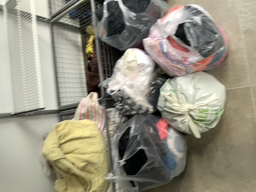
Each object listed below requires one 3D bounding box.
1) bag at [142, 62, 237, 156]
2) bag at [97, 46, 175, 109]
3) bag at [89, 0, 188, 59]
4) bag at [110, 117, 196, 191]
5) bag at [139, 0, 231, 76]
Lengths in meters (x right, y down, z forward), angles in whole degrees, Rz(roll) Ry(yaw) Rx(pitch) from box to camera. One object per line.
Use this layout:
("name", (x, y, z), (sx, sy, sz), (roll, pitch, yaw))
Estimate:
("bag", (0.300, 0.040, 1.060), (0.340, 0.240, 0.360), (13, 98, 37))
("bag", (0.050, -0.100, 1.190), (0.240, 0.330, 0.270), (19, 102, 36))
("bag", (0.060, -0.410, 1.150), (0.330, 0.350, 0.290), (27, 106, 34))
("bag", (0.140, 0.340, 1.150), (0.280, 0.320, 0.360), (16, 100, 36))
("bag", (0.280, -0.280, 1.040), (0.300, 0.280, 0.310), (14, 99, 36))
